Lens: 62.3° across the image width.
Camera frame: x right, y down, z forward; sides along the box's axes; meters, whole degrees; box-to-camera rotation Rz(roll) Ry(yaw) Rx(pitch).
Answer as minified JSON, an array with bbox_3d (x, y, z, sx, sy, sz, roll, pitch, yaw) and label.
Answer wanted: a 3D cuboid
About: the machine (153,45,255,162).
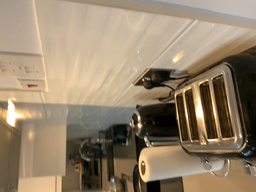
[{"bbox_3d":[0.240,0.040,0.620,0.300,0.210,0.250,149,120,-69],"label":"machine"}]
